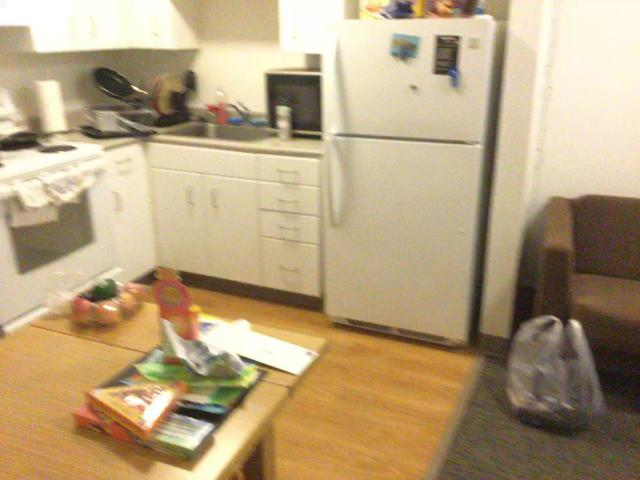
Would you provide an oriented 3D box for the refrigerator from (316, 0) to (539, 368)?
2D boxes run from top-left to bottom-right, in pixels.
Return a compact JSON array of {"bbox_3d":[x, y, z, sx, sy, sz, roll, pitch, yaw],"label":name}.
[{"bbox_3d":[0.530,-0.330,2.780,0.770,1.550,0.770,8,22,26],"label":"refrigerator"}]

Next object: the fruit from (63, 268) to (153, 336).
[{"bbox_3d":[-0.560,0.160,1.540,0.120,0.100,0.180,8,22,26],"label":"fruit"}]
